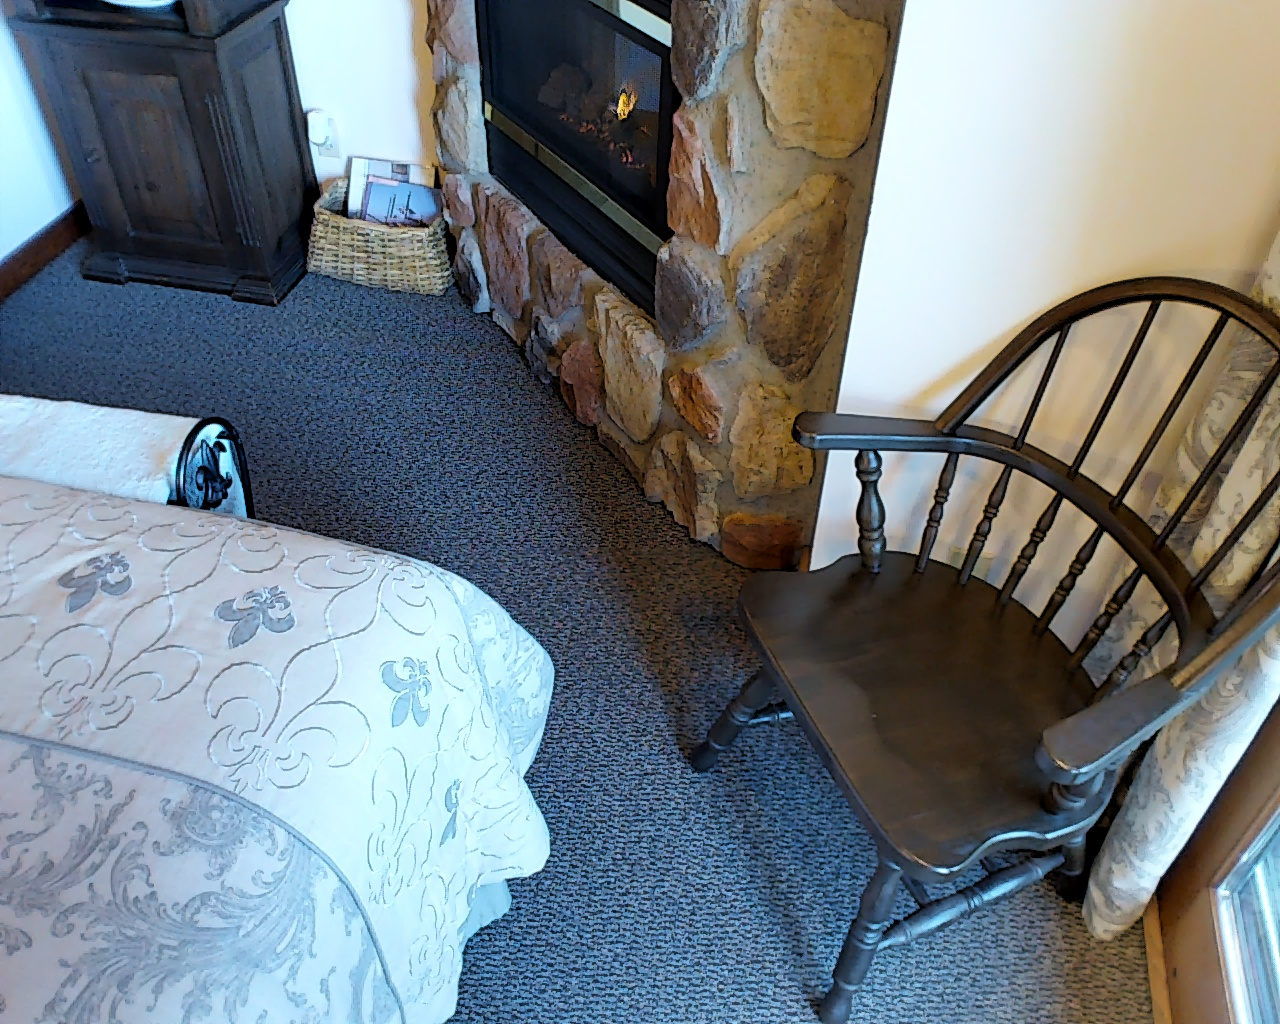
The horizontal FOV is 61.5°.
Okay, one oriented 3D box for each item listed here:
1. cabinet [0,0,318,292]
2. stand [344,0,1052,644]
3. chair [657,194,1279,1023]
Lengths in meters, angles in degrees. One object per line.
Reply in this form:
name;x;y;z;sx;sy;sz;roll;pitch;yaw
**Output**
cabinet;-1.320;-1.340;2.610;0.700;1.480;0.430;10;43;7
stand;-0.070;-0.930;2.120;0.470;1.680;1.660;-22;48;-25
chair;0.450;0.190;1.480;0.580;0.940;0.660;-15;46;-19
